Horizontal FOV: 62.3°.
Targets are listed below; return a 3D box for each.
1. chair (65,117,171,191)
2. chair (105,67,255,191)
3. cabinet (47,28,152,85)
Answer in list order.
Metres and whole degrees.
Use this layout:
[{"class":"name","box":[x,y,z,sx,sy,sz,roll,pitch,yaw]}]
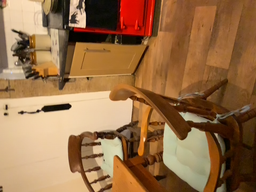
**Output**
[{"class":"chair","box":[-0.110,0.560,2.120,0.600,0.810,0.560,-8,89,60]},{"class":"chair","box":[0.390,0.200,1.130,0.520,0.880,0.600,25,117,54]},{"class":"cabinet","box":[-0.310,-0.440,2.200,0.610,0.880,0.430,32,123,53]}]
